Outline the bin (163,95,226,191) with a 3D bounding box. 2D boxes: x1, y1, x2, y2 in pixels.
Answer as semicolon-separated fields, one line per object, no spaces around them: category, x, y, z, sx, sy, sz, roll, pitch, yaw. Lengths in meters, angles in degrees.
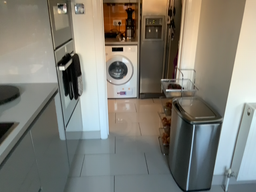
bin;0.500;0.370;1.750;0.300;0.640;0.440;-1;22;-3
